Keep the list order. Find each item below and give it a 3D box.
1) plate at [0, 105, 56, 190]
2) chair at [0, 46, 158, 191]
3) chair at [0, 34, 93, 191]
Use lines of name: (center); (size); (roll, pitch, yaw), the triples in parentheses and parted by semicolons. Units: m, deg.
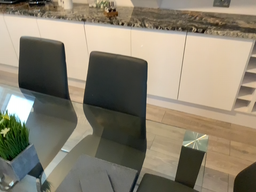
plate: (-0.500, 0.180, 0.840); (0.360, 0.260, 0.130); (13, 38, 19)
chair: (-0.150, 0.340, 1.170); (0.430, 1.020, 0.550); (13, 38, 18)
chair: (-0.600, 0.210, 1.380); (0.410, 1.020, 0.550); (13, 38, 18)
